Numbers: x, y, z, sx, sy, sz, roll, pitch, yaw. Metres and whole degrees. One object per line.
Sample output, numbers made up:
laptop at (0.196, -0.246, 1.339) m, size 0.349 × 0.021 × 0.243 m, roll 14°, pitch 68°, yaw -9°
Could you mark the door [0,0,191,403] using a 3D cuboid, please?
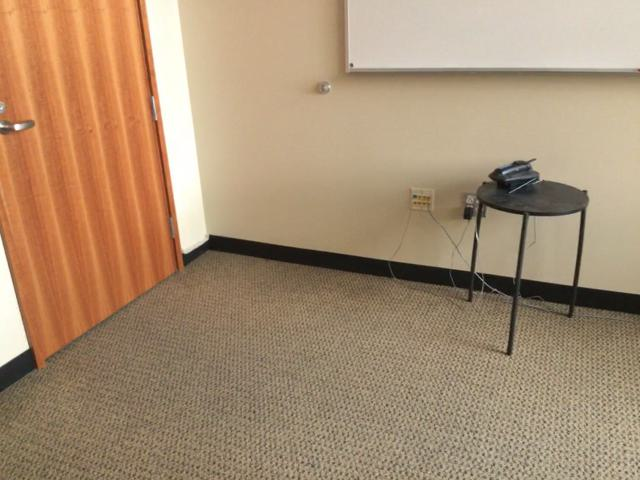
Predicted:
door at (-1.000, -0.720, 2.230) m, size 0.240 × 2.400 × 1.180 m, roll 8°, pitch 17°, yaw 23°
